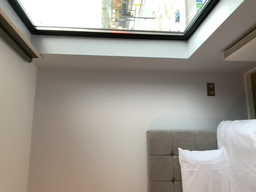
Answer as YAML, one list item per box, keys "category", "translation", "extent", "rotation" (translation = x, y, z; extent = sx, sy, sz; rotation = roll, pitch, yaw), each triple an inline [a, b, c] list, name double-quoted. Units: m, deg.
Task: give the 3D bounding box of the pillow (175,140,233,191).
- category: "pillow"
  translation: [0.690, 0.780, 1.940]
  extent: [0.140, 0.440, 0.720]
  rotation: [48, -142, -76]
